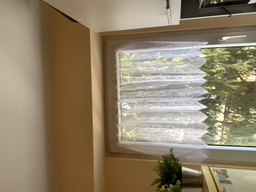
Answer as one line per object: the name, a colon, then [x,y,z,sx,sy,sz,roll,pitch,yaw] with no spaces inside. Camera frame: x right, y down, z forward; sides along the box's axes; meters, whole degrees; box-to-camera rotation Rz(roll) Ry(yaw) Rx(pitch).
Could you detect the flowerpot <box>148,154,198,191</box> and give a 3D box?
flowerpot: [0.230,0.430,1.090,0.130,0.230,0.210,-26,-65,-75]
